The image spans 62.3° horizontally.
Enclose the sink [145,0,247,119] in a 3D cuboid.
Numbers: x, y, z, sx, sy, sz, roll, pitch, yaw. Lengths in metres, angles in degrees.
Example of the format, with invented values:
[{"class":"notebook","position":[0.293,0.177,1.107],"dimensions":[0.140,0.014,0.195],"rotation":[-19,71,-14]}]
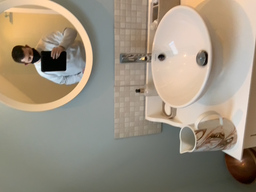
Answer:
[{"class":"sink","position":[0.240,-0.160,0.910],"dimensions":[0.450,0.140,0.400],"rotation":[-155,63,-66]}]
